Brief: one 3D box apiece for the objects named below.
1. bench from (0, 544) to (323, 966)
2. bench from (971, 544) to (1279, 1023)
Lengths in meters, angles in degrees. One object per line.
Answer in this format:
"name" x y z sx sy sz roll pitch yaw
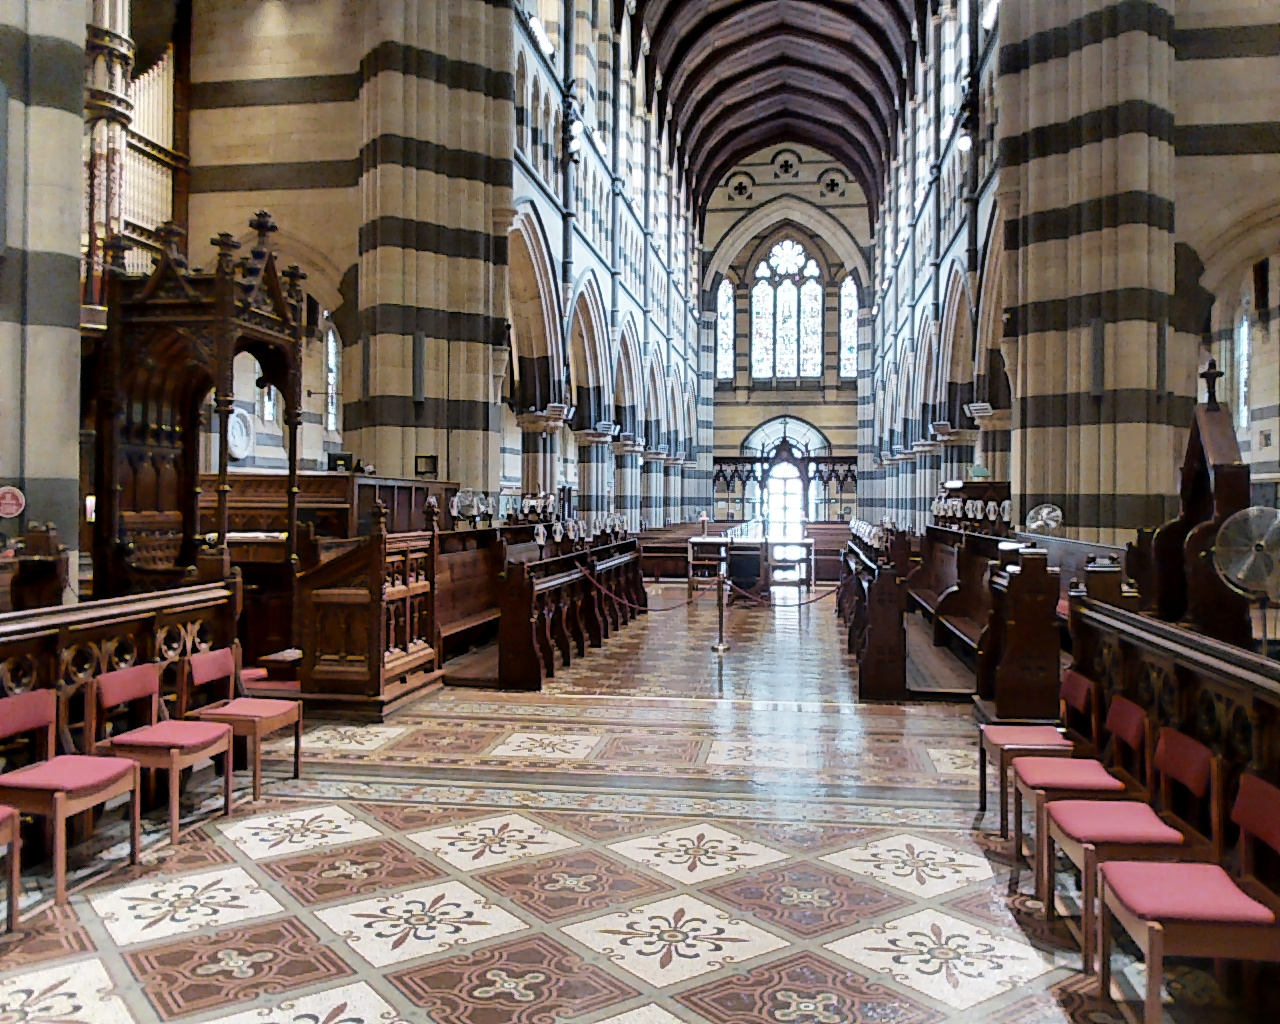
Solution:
"bench" -2.669 0.940 4.630 0.900 1.400 3.880 0 1 9
"bench" 1.990 0.940 3.950 0.920 1.440 3.930 0 1 9
